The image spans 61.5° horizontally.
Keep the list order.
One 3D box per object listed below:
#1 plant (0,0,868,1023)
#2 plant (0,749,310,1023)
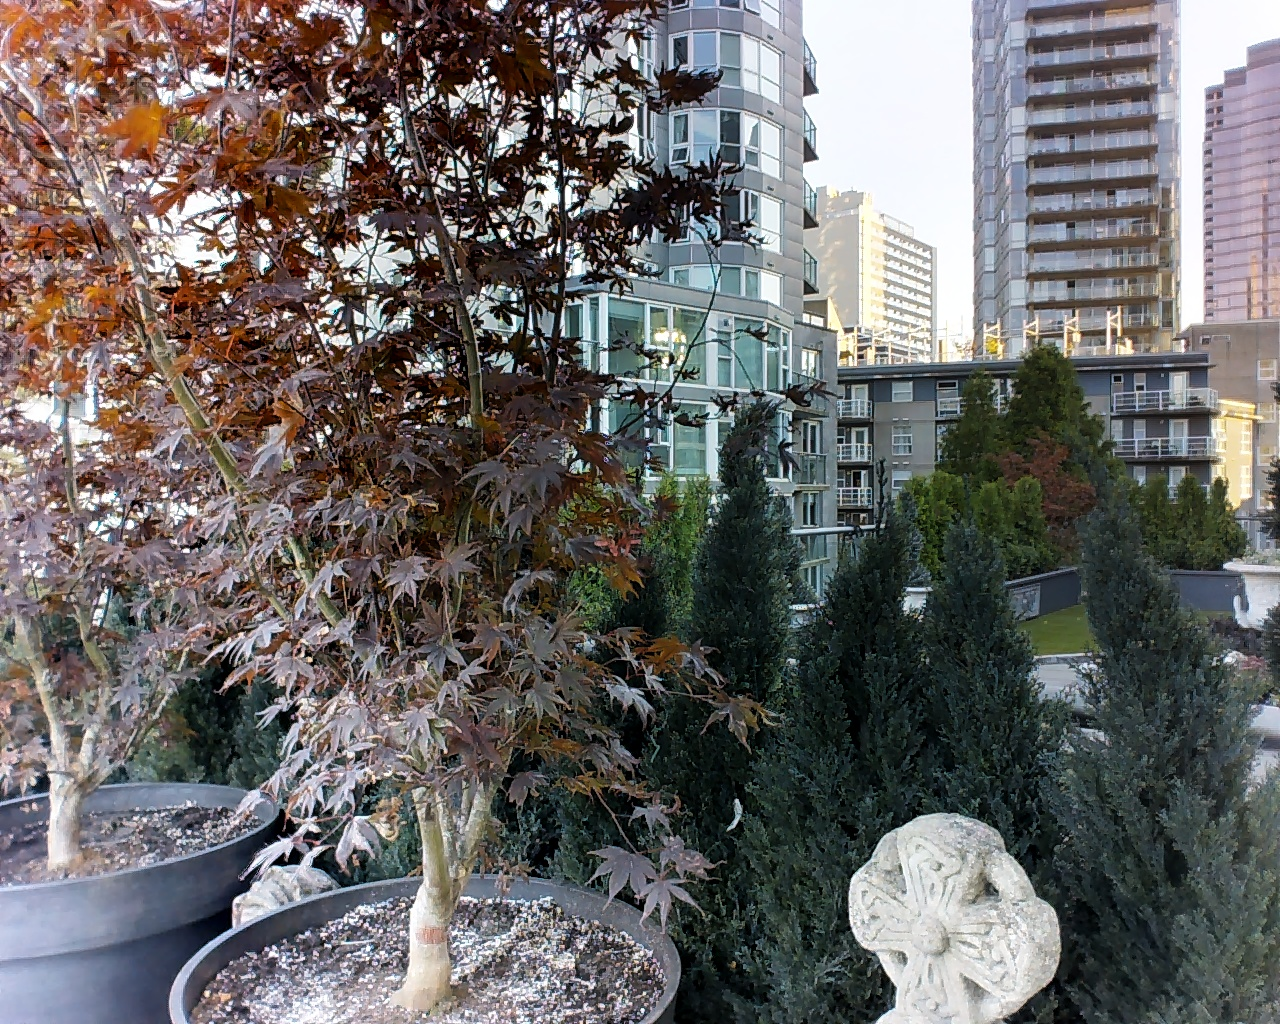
[{"bbox_3d":[-1.280,0.010,2.150,2.860,2.781,1.870,0,1,39],"label":"plant"},{"bbox_3d":[-1.250,1.010,2.510,0.770,0.690,0.880,0,1,-7],"label":"plant"}]
